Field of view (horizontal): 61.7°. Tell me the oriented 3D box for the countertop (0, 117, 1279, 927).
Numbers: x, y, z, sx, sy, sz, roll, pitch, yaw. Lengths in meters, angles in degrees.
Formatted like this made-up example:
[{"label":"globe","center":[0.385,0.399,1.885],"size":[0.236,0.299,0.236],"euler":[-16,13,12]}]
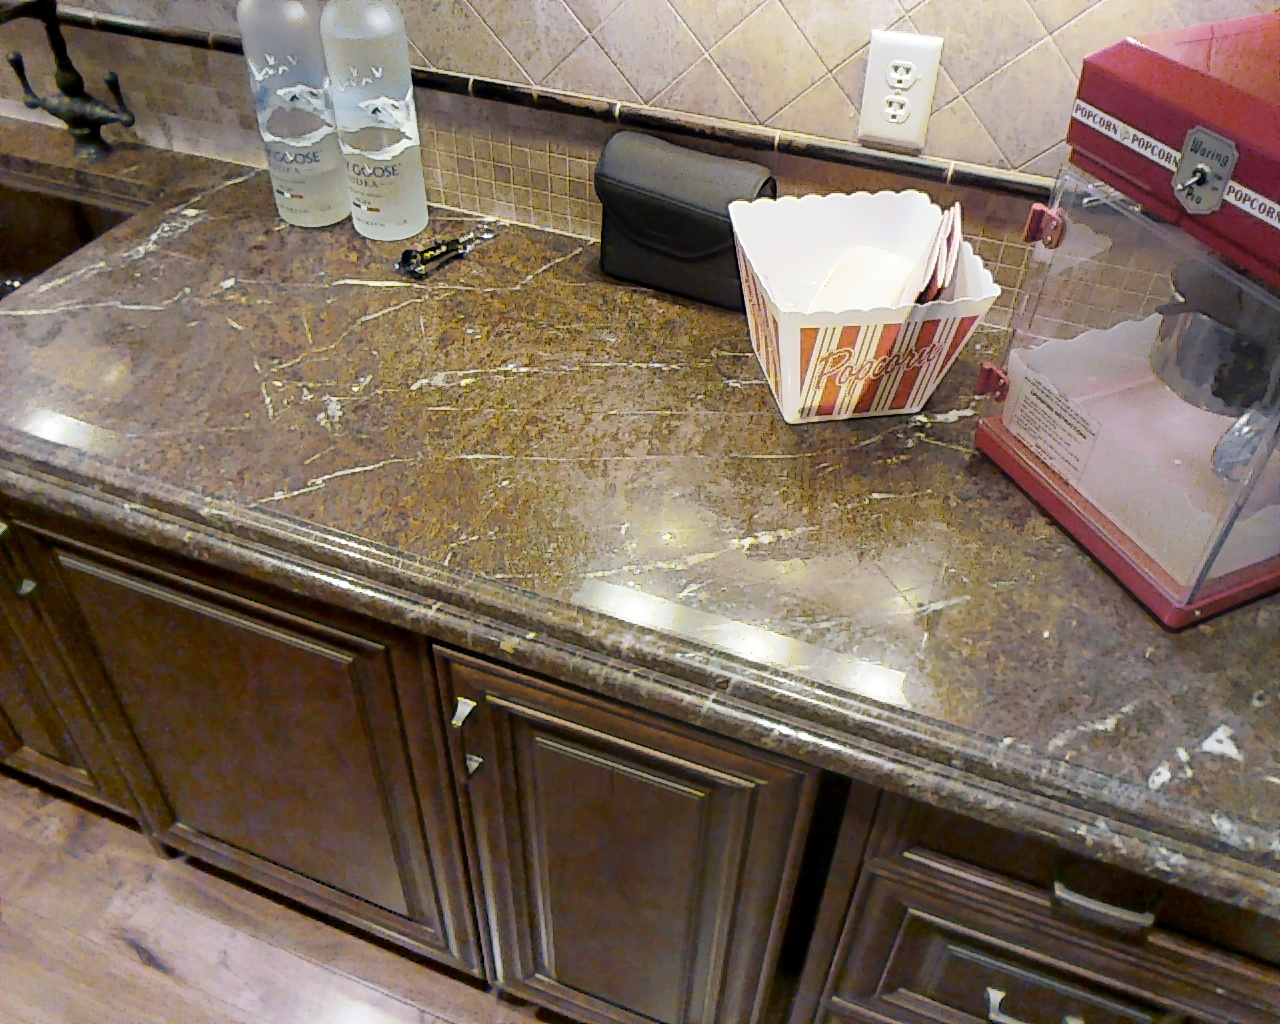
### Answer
[{"label":"countertop","center":[-0.520,-0.230,1.320],"size":[2.670,0.060,0.660],"euler":[16,44,15]}]
